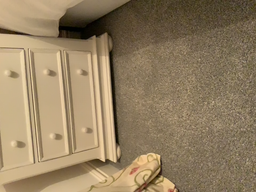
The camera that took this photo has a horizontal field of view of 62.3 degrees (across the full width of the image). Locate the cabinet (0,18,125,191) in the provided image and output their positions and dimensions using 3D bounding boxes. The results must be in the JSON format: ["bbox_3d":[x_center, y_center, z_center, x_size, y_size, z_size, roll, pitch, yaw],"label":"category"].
[{"bbox_3d":[-0.410,0.030,1.040,0.420,0.630,0.660,4,99,54],"label":"cabinet"}]
